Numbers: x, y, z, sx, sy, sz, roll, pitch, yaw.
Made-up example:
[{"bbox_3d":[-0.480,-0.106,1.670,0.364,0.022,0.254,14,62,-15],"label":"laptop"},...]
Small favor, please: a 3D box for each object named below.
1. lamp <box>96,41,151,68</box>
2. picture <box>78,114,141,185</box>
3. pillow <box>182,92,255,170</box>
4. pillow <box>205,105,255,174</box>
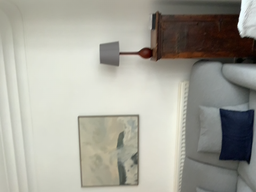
[{"bbox_3d":[-0.050,-0.420,2.160,0.280,0.510,0.250,-105,16,-77],"label":"lamp"},{"bbox_3d":[-0.220,0.660,2.580,0.010,0.740,0.920,-105,15,-77],"label":"picture"},{"bbox_3d":[0.870,0.330,1.960,0.550,0.480,0.130,-59,10,12],"label":"pillow"},{"bbox_3d":[0.950,0.380,1.840,0.520,0.280,0.100,-60,5,8],"label":"pillow"}]
